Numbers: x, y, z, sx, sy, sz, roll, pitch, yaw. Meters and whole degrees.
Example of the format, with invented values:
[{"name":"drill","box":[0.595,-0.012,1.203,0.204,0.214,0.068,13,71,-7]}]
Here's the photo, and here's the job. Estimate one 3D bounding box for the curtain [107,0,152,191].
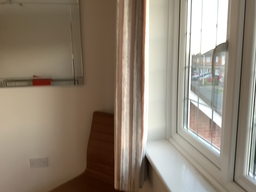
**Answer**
[{"name":"curtain","box":[0.000,-0.170,1.230,0.190,1.450,0.320,-2,9,-10]}]
